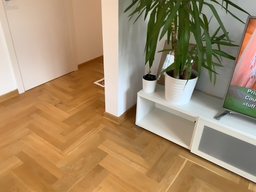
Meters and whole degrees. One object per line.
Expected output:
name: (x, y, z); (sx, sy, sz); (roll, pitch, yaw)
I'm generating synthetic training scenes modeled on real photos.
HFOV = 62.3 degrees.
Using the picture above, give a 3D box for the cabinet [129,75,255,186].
cabinet: (1.170, 0.440, 1.660); (2.500, 0.410, 0.470); (22, 36, 29)
